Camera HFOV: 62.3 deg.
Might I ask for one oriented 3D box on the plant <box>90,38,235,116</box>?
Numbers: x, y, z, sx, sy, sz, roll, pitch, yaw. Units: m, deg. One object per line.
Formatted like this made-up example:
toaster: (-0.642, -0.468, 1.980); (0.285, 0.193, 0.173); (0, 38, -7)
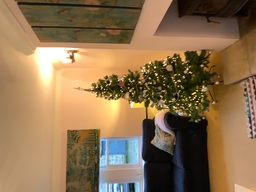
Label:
plant: (0.350, -0.170, 2.820); (0.840, 1.660, 0.800); (130, 140, -77)
